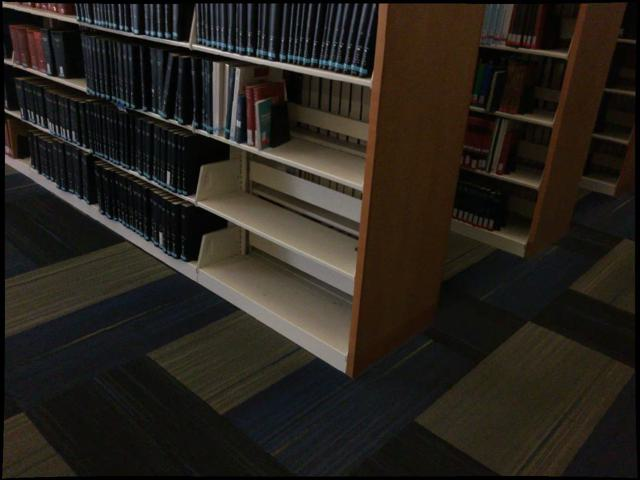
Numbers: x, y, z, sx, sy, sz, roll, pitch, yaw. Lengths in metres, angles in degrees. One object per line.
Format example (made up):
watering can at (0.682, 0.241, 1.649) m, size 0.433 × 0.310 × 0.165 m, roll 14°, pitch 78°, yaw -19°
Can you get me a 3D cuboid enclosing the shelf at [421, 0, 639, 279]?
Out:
shelf at (1.157, -1.083, 2.980) m, size 0.759 × 2.365 × 0.669 m, roll 23°, pitch 33°, yaw 37°
